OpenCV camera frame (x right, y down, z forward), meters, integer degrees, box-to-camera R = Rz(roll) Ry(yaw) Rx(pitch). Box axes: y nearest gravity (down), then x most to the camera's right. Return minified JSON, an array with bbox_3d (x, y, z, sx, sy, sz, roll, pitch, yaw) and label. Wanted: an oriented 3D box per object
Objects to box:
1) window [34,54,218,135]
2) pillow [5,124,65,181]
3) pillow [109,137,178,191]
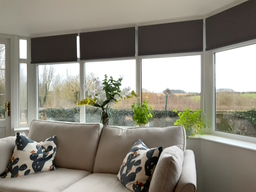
[{"bbox_3d":[-0.180,-0.020,2.850,2.570,0.930,0.070,0,1,17],"label":"window"},{"bbox_3d":[-0.970,0.580,2.240,0.440,0.400,0.180,-27,8,-39],"label":"pillow"},{"bbox_3d":[0.100,0.620,1.820,0.220,0.380,0.550,-38,13,-16],"label":"pillow"}]
